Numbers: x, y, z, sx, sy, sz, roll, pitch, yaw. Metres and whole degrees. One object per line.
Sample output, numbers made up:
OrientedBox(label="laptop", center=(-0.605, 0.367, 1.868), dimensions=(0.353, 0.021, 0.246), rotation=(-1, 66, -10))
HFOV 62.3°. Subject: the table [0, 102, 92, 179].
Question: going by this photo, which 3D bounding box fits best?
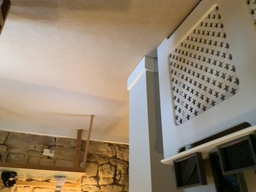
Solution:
OrientedBox(label="table", center=(-1.350, 0.640, 2.840), dimensions=(1.510, 0.760, 0.770), rotation=(11, 151, -20))
